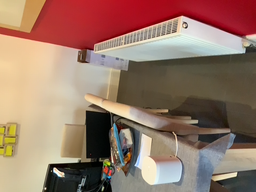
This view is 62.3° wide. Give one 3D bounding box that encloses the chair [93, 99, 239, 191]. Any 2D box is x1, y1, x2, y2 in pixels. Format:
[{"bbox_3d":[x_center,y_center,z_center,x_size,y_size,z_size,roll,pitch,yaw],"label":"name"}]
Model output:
[{"bbox_3d":[0.300,0.340,1.560,0.400,0.960,0.510,13,95,60],"label":"chair"}]
